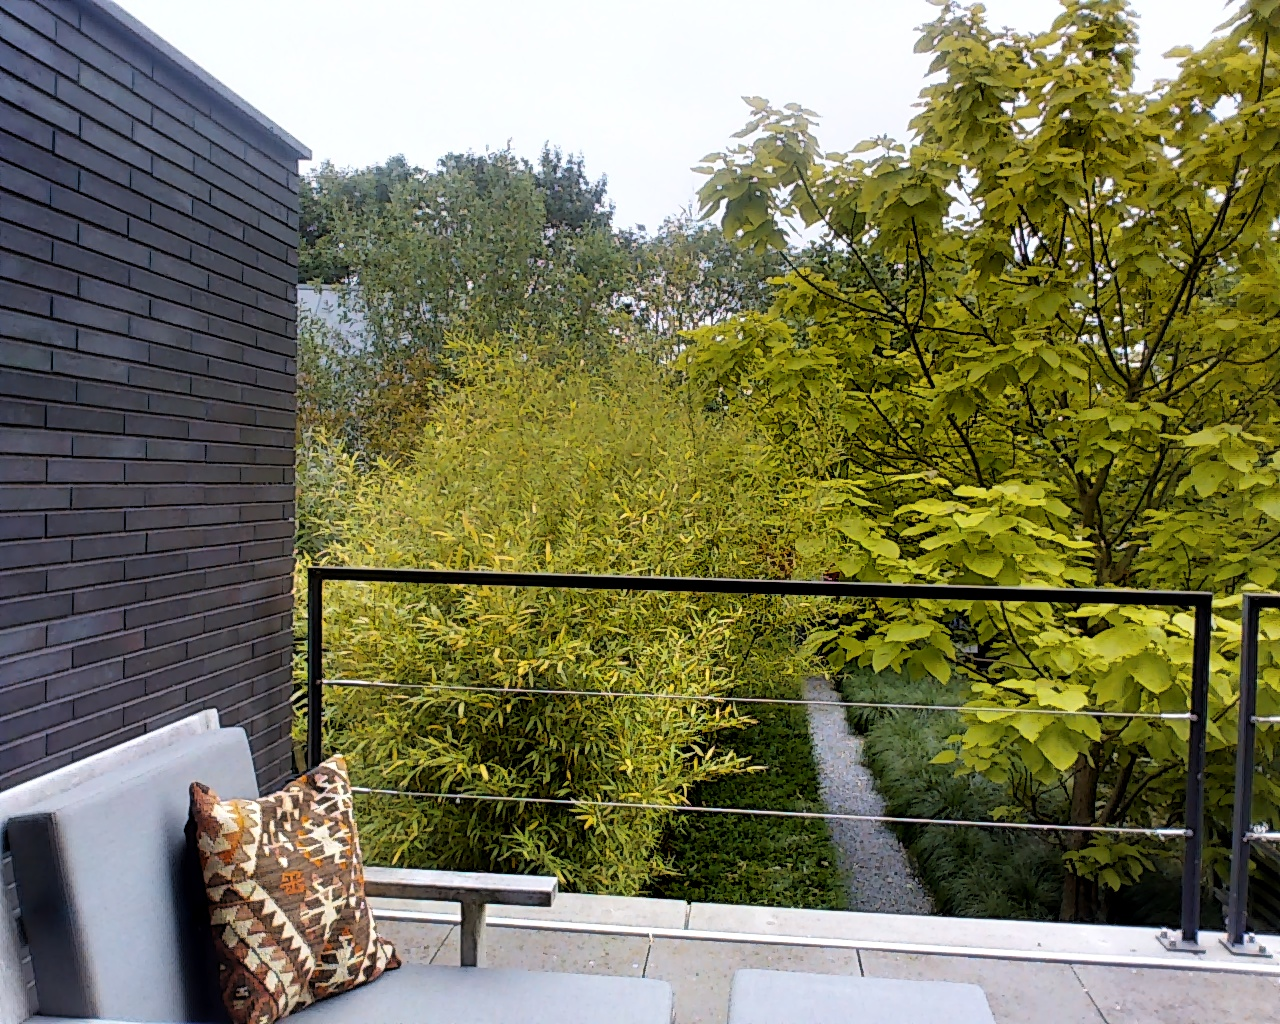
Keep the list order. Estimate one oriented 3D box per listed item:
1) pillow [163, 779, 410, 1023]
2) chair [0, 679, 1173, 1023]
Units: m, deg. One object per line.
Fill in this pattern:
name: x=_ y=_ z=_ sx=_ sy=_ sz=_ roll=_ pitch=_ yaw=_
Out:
pillow: x=-0.650 y=0.750 z=2.030 sx=0.150 sy=0.360 sz=0.380 roll=-15 pitch=-1 yaw=23
chair: x=-0.190 y=0.850 z=1.940 sx=1.820 sy=0.860 sz=0.960 roll=1 pitch=1 yaw=6
